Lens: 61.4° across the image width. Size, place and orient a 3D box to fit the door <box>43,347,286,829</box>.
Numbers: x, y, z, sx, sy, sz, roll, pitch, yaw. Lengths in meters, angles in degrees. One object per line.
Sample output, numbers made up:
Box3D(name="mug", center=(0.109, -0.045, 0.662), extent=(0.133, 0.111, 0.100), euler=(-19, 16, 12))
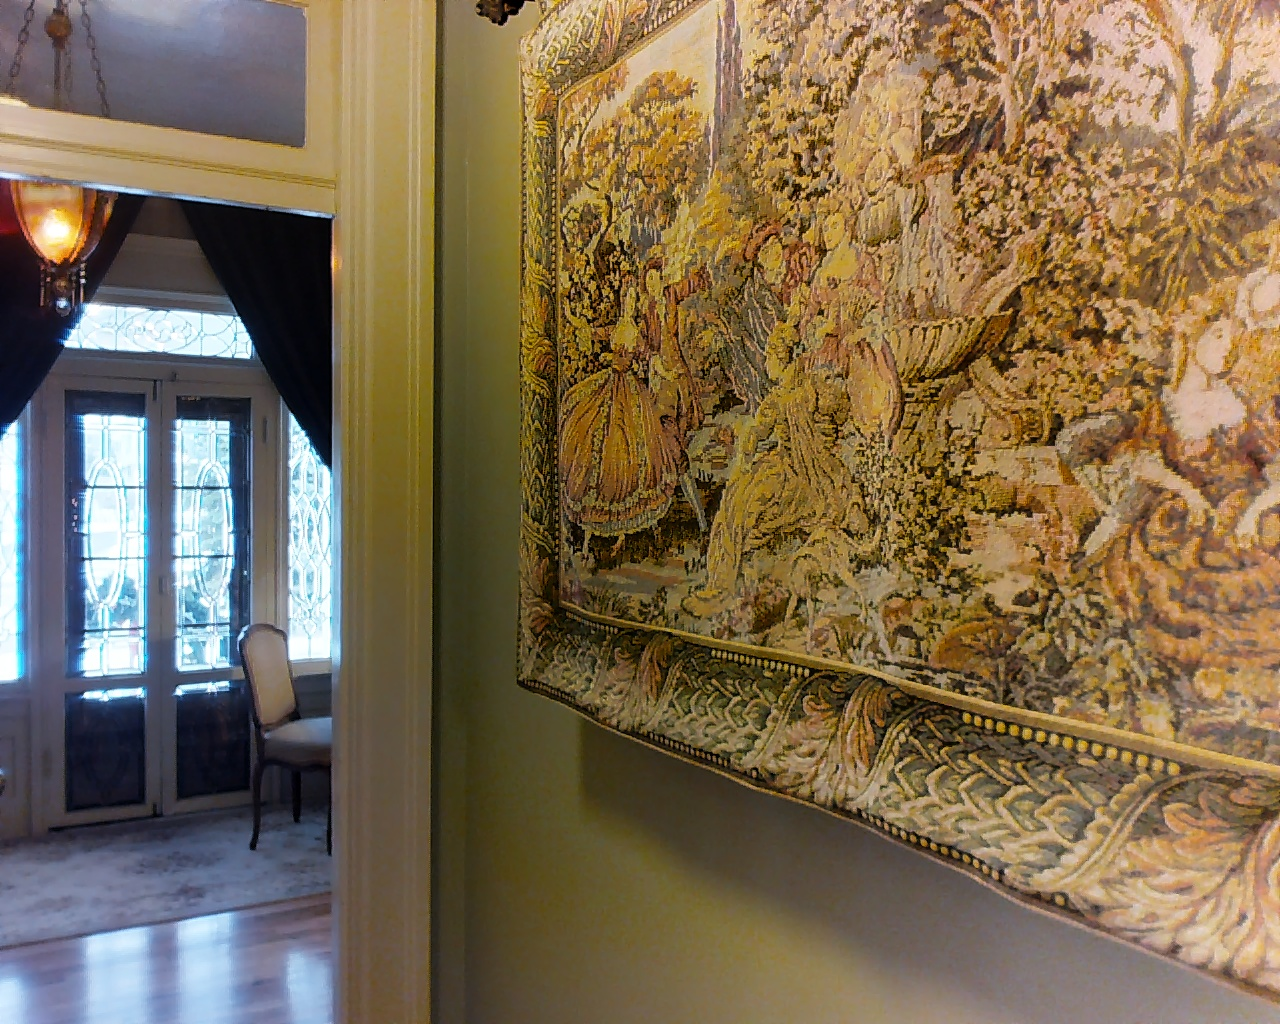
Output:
Box3D(name="door", center=(-2.169, 0.330, 4.960), extent=(1.010, 2.081, 0.150), euler=(0, 1, -29))

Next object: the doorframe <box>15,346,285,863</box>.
Box3D(name="doorframe", center=(-2.229, 0.400, 4.960), extent=(1.120, 2.221, 0.140), euler=(0, 1, -29))
